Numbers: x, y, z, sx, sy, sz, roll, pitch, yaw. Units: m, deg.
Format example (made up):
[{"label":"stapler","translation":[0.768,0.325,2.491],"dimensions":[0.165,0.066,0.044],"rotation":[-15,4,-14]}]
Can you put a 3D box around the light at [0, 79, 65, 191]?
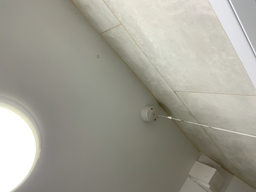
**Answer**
[{"label":"light","translation":[-0.400,0.140,0.570],"dimensions":[0.320,0.090,0.290],"rotation":[-45,115,-20]}]
